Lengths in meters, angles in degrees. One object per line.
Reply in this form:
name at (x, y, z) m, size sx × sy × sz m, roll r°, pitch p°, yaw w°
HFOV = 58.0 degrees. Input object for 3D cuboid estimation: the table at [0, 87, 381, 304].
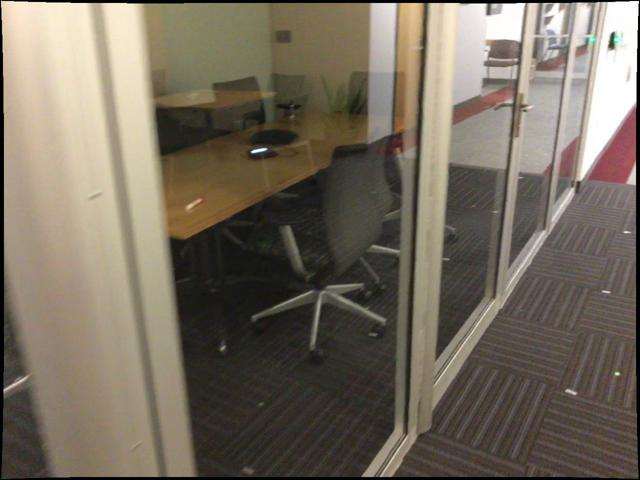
table at (-0.519, -0.361, 2.820) m, size 0.978 × 0.200 × 1.650 m, roll 16°, pitch 37°, yaw 29°

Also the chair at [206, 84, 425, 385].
chair at (0.030, -0.060, 2.630) m, size 0.589 × 1.042 × 0.740 m, roll 16°, pitch 36°, yaw 29°
